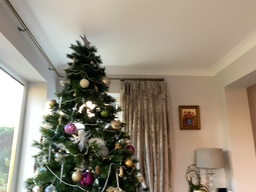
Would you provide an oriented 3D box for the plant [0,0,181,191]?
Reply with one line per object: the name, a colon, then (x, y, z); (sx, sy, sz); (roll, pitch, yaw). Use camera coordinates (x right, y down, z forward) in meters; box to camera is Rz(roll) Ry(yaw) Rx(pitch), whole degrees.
plant: (-0.400, 0.520, 1.830); (1.250, 2.270, 1.060); (5, -15, -21)
